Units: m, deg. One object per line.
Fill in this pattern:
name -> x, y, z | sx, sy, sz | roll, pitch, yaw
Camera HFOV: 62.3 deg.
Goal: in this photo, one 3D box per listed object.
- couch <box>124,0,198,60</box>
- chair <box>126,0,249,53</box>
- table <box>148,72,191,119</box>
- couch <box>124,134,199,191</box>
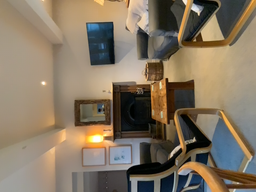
couch -> 0.380, -1.260, 3.500 | 1.890, 0.810, 0.940 | 146, 123, -86
chair -> 0.450, -0.950, 1.880 | 0.890, 0.880, 0.710 | 96, 173, -62
table -> 0.610, 0.010, 3.410 | 1.120, 0.400, 0.620 | 152, 117, -86
couch -> 0.400, 1.220, 3.500 | 1.850, 0.840, 0.950 | 134, 135, -85
